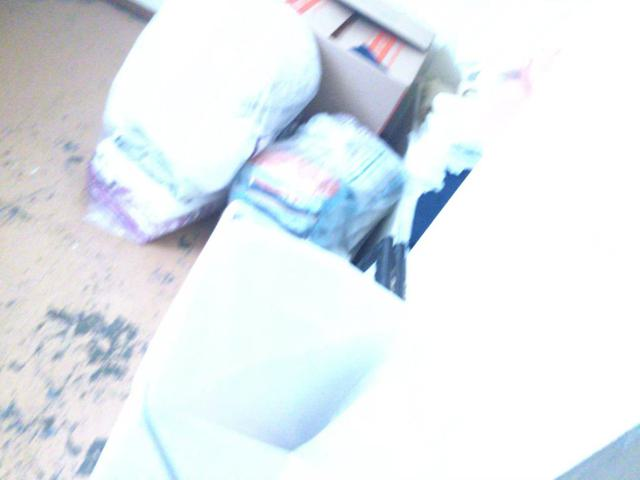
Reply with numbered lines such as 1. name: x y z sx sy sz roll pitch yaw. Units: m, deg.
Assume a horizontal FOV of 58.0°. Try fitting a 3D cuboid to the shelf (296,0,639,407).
1. shelf: 0.670 -0.680 1.470 0.420 1.890 1.310 28 35 -5
